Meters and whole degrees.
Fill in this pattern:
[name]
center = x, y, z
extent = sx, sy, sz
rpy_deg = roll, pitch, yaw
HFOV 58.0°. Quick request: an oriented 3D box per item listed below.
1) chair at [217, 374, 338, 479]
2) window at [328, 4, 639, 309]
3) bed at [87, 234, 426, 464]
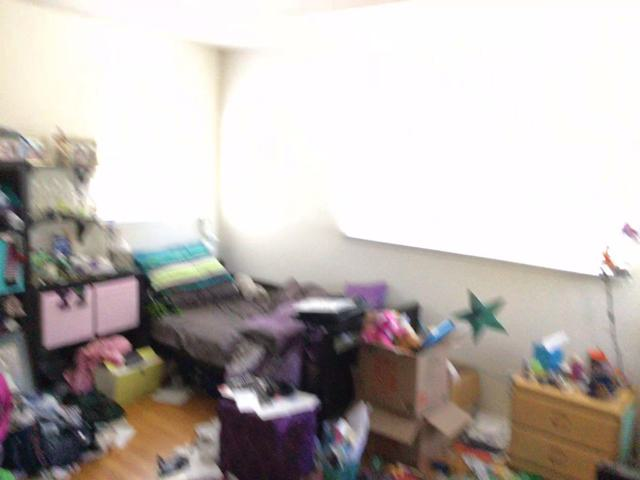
[chair]
center = -0.210, 0.980, 2.950
extent = 0.400, 0.390, 0.470
rpy_deg = 6, 8, 36
[window]
center = 0.880, -0.460, 3.350
extent = 1.790, 1.430, 0.290
rpy_deg = 6, 8, 36
[bed]
center = -0.470, 0.540, 3.910
extent = 1.990, 0.930, 1.160
rpy_deg = 6, 8, 36
